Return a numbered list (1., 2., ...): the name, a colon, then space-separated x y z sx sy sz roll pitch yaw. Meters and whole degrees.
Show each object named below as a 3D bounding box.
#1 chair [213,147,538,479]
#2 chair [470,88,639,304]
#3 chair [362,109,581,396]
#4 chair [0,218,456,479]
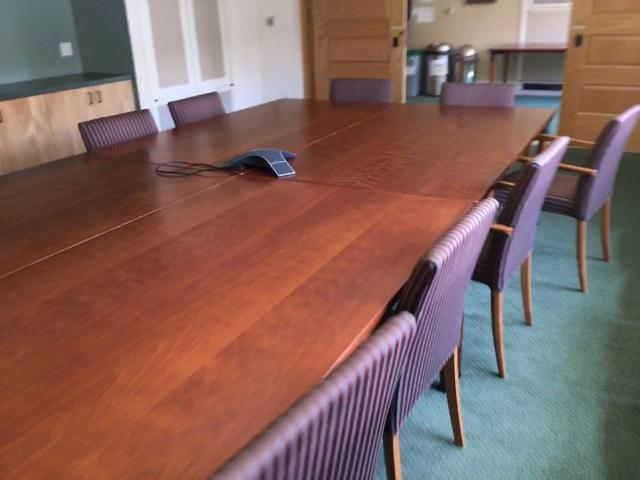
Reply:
1. chair: 0.180 0.280 1.610 0.640 0.910 0.540 10 27 25
2. chair: 1.180 -0.260 2.850 0.630 0.820 0.630 13 29 31
3. chair: 0.590 0.000 2.280 0.650 0.870 0.600 10 27 25
4. chair: -0.180 0.540 1.070 0.650 0.910 0.650 10 27 25
